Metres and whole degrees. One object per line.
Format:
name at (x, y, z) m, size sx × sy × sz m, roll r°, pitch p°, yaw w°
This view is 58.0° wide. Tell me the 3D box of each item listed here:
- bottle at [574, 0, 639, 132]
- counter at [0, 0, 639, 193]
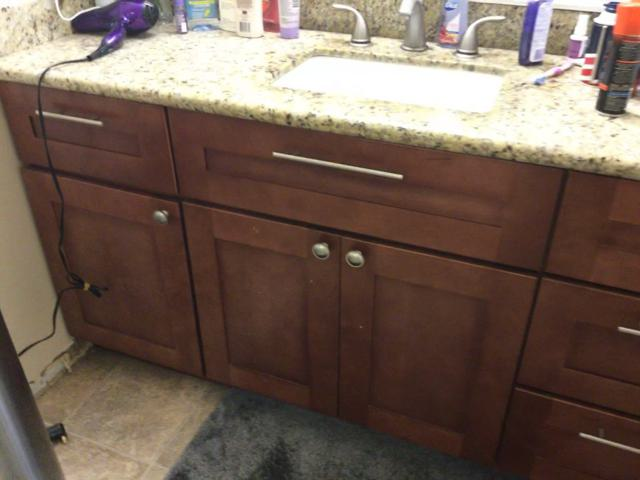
bottle at (0.540, -0.340, 1.050) m, size 0.090 × 0.210 × 0.240 m, roll 13°, pitch 32°, yaw 19°
counter at (0.160, -0.410, 1.190) m, size 1.650 × 0.230 × 0.610 m, roll 13°, pitch 32°, yaw 19°
